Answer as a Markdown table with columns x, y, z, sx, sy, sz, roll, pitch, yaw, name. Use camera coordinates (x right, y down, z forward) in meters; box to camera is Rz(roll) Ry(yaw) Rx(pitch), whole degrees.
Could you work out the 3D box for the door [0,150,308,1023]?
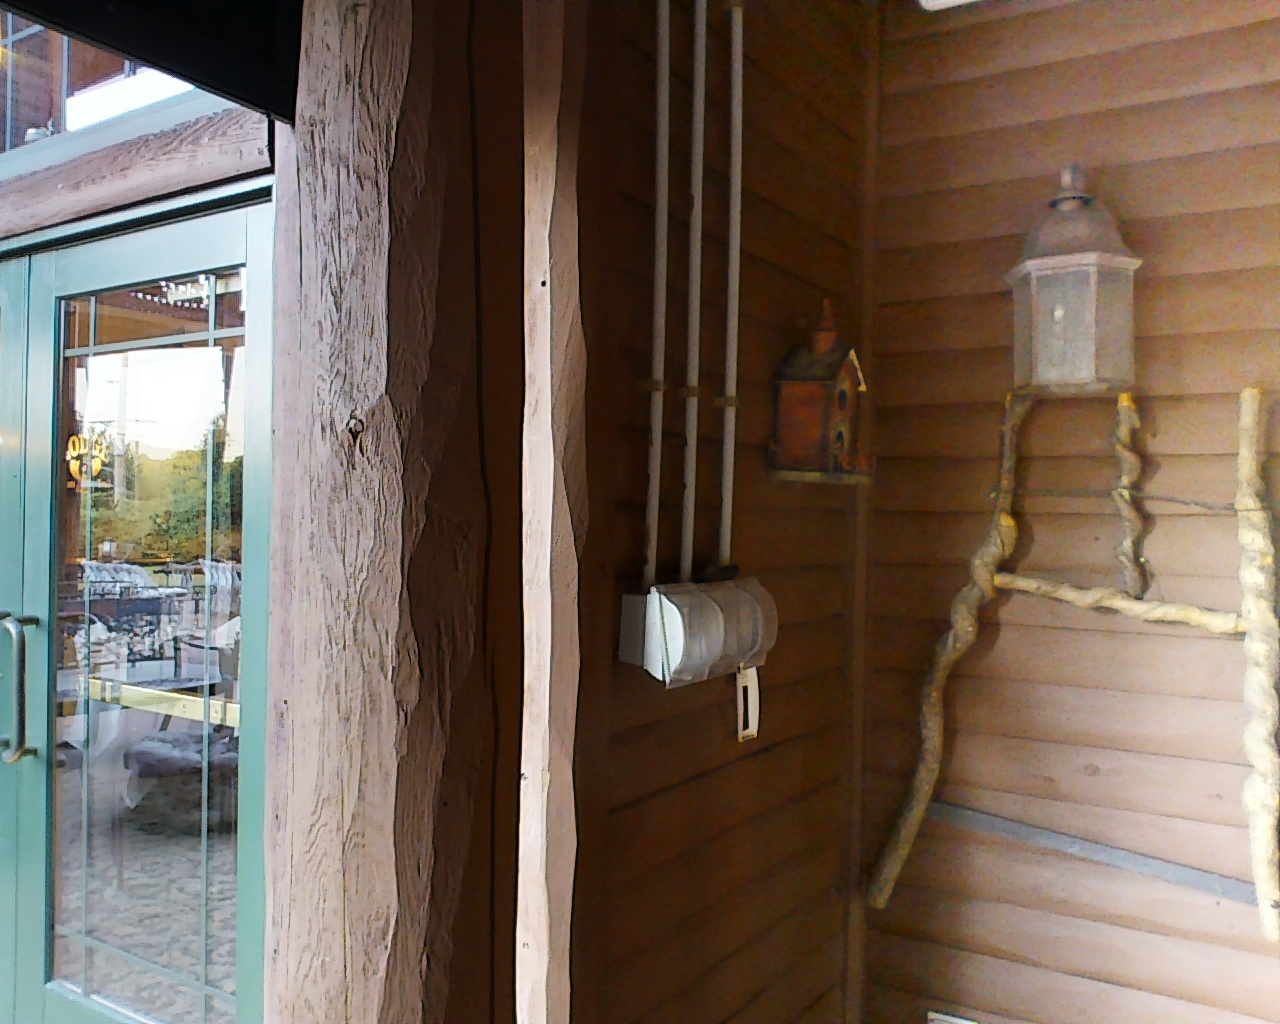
| x | y | z | sx | sy | sz | roll | pitch | yaw | name |
| --- | --- | --- | --- | --- | --- | --- | --- | --- | --- |
| -1.480 | 0.380 | 2.530 | 1.890 | 2.110 | 0.110 | 1 | 0 | 32 | door |
